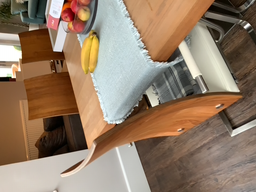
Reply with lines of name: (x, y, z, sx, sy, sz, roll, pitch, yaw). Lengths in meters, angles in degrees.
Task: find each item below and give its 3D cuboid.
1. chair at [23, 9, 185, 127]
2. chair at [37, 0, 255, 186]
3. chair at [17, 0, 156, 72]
chair: (-0.200, -0.170, 1.570, 0.580, 0.970, 0.450, -55, 48, 45)
chair: (0.190, -0.080, 0.940, 0.470, 0.980, 0.580, -49, 53, 48)
chair: (-0.370, -0.570, 1.800, 0.580, 0.960, 0.450, -52, 51, 47)
